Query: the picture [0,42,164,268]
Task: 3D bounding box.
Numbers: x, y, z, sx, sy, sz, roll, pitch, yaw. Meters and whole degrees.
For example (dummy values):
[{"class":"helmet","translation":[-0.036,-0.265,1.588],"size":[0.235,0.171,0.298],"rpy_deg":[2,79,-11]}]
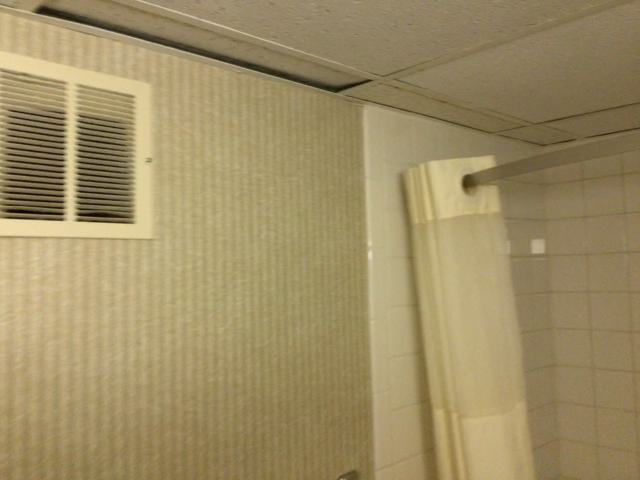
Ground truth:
[{"class":"picture","translation":[-0.350,-0.110,0.800],"size":[0.270,0.290,0.020],"rpy_deg":[0,-4,-42]}]
